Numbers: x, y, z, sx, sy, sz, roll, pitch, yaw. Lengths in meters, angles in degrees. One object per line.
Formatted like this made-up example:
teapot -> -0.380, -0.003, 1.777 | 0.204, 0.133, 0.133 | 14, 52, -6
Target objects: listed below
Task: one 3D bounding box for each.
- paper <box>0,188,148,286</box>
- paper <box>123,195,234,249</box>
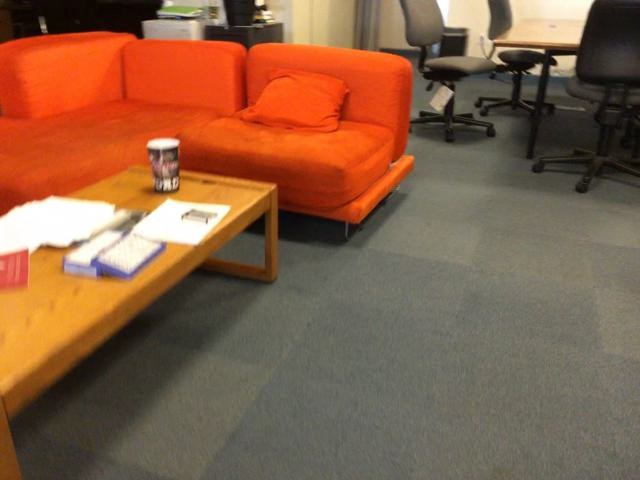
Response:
paper -> -0.800, -0.030, 1.660 | 0.390, 0.060, 0.470 | 9, 24, 18
paper -> -0.410, -0.060, 1.740 | 0.220, 0.040, 0.300 | 5, 23, 9
